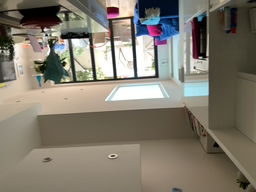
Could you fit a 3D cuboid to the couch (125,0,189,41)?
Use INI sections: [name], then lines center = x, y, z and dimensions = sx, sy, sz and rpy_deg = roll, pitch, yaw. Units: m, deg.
[couch]
center = 0.580, -1.860, 5.000
dimensions = 1.140, 0.870, 2.460
rpy_deg = -3, -169, 4
